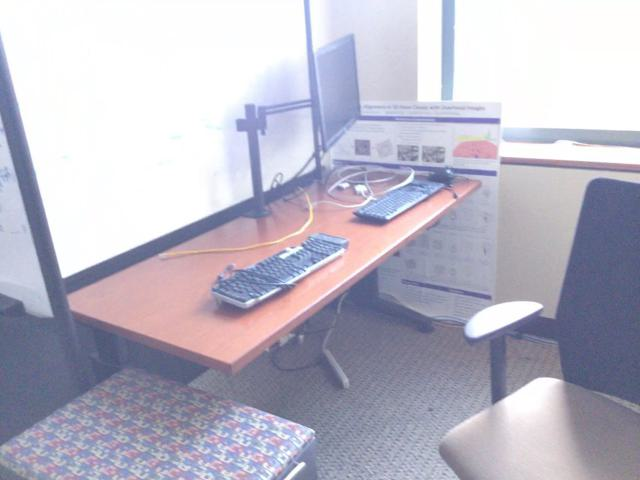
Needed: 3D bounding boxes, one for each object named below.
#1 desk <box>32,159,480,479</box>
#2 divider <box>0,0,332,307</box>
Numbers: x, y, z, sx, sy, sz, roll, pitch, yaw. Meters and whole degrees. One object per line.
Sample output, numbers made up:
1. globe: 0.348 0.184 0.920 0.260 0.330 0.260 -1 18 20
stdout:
1. desk: -0.030 0.270 2.090 0.700 0.760 1.540 9 24 33
2. divider: -0.430 -0.490 1.970 0.150 0.930 1.380 9 24 33
